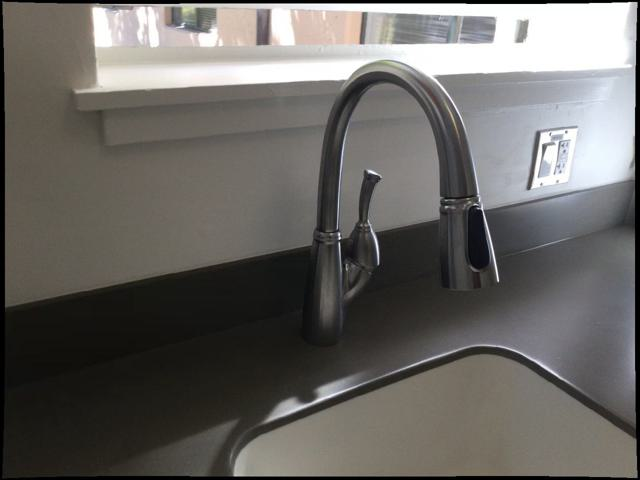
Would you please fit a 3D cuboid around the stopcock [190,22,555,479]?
[{"bbox_3d":[0.020,-0.020,0.710,0.210,0.441,0.380,-12,28,-29],"label":"stopcock"}]
